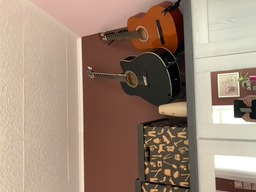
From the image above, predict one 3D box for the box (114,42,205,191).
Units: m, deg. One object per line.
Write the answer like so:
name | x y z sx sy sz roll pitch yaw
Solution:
box | 0.270 0.710 1.570 0.520 0.500 2.040 3 -95 -64
